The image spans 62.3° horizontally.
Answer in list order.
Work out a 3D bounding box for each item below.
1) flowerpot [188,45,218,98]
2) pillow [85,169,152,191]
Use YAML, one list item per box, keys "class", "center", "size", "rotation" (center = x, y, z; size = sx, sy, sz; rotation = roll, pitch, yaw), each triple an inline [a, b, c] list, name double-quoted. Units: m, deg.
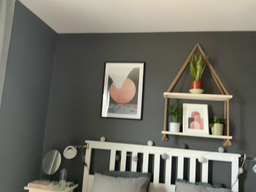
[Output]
- class: "flowerpot"
  center: [0.840, -0.270, 2.400]
  size: [0.290, 0.560, 0.200]
  rotation: [2, -8, 17]
- class: "pillow"
  center: [-0.080, 0.950, 1.990]
  size: [0.570, 0.340, 0.290]
  rotation: [3, 8, 12]
